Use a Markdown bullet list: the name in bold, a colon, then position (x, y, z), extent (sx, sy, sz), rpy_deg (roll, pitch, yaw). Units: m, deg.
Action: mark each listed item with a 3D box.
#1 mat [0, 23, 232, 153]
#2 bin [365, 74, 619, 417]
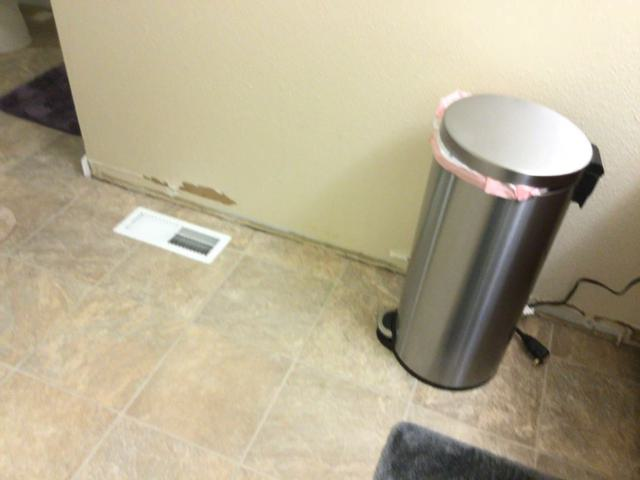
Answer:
- **mat**: position (-0.860, -0.690, 2.460), extent (0.540, 0.070, 0.890), rpy_deg (23, 44, 19)
- **bin**: position (0.370, 0.030, 1.350), extent (0.350, 0.660, 0.340), rpy_deg (19, 43, 14)
